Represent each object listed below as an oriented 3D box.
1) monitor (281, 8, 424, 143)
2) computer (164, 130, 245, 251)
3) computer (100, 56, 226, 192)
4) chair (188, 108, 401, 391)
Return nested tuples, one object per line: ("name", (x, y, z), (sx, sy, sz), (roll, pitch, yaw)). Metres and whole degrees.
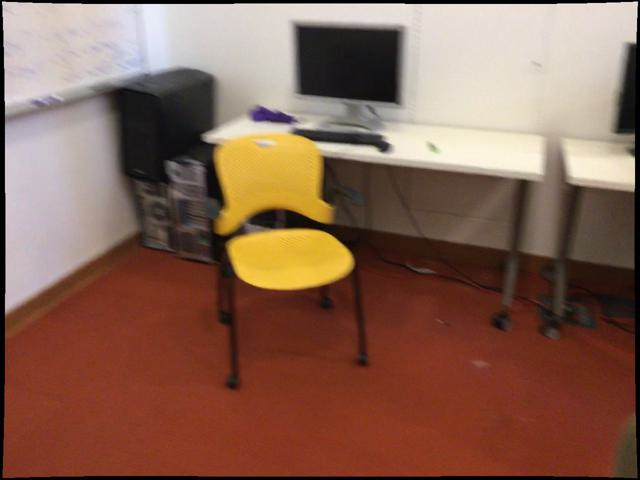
("monitor", (0.150, -0.801, 2.770), (0.580, 0.520, 0.340), (11, 27, 16))
("computer", (-0.599, -0.270, 3.070), (0.260, 0.520, 0.350), (11, 27, 16))
("computer", (-0.799, -0.641, 3.080), (0.320, 0.550, 0.620), (11, 27, 16))
("chair", (-0.150, -0.020, 2.320), (0.550, 0.811, 0.770), (-9, 28, -22))
